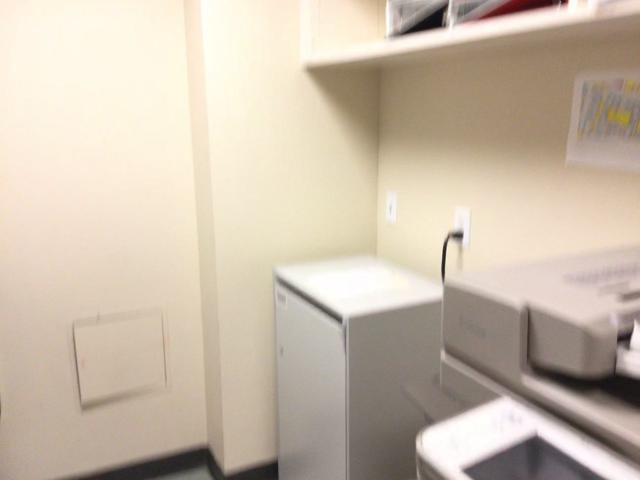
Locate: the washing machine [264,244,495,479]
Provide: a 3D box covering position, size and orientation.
[{"bbox_3d":[0.150,0.540,1.930,0.470,0.940,0.590,-3,12,-26],"label":"washing machine"}]
